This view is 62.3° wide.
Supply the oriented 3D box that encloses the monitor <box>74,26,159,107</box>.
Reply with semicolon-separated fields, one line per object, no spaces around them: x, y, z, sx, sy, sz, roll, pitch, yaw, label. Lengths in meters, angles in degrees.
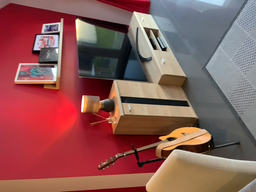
-0.230;-0.440;2.750;1.470;0.890;0.070;-106;28;-43;monitor
